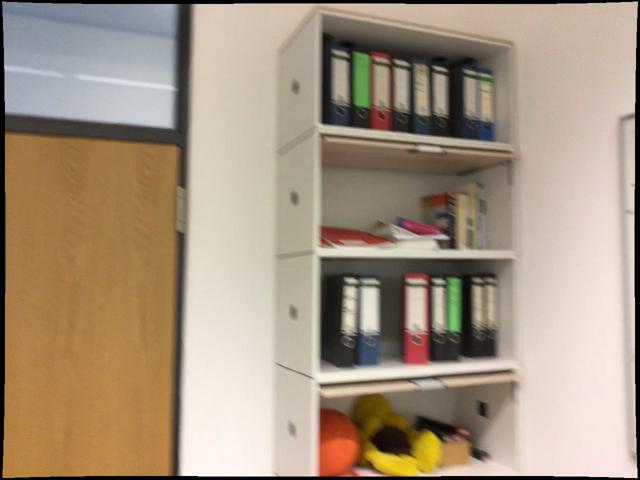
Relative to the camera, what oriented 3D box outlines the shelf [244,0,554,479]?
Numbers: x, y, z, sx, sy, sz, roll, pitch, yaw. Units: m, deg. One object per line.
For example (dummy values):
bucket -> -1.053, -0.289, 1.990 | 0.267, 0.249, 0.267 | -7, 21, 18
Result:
shelf -> 0.270, 0.430, 2.070 | 0.909, 2.503, 0.520 | -1, -2, -20
